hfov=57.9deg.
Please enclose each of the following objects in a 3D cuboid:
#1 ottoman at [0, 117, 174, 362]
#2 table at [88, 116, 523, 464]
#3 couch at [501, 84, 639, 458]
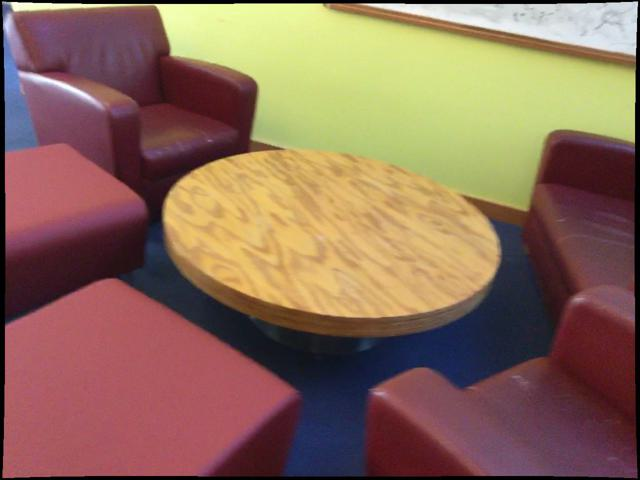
[{"bbox_3d":[-1.039,-0.040,2.060,0.730,0.460,0.690,-23,42,-37],"label":"ottoman"},{"bbox_3d":[0.050,0.030,2.210,1.209,0.420,1.200,16,34,16],"label":"table"},{"bbox_3d":[1.349,0.040,2.180,0.969,0.741,1.390,8,32,4],"label":"couch"}]
